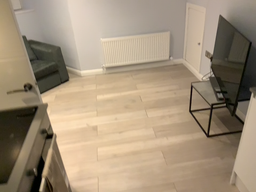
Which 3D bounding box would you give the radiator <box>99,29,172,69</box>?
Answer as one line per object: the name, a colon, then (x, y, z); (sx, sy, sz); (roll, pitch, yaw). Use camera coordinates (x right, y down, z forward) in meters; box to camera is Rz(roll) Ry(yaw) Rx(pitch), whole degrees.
radiator: (0.150, -0.820, 3.730); (1.240, 0.550, 0.080); (-8, 30, -6)
